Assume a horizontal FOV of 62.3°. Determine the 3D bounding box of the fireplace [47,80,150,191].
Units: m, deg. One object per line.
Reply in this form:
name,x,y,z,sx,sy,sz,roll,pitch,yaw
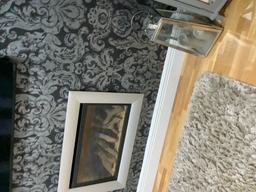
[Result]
fireplace,-0.290,0.420,1.910,0.400,0.680,1.020,32,115,55
